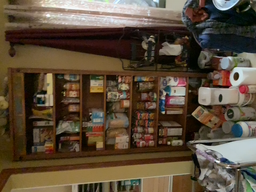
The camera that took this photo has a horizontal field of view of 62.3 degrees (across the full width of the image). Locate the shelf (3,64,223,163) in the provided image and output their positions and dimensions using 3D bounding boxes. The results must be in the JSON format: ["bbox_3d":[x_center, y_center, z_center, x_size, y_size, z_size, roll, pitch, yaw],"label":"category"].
[{"bbox_3d":[-0.050,0.140,2.200,0.300,2.120,0.840,-156,67,-74],"label":"shelf"}]
